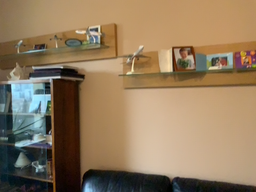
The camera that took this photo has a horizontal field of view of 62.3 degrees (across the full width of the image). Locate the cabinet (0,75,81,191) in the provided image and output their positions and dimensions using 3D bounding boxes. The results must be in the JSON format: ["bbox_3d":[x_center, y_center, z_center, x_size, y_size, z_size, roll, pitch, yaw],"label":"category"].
[{"bbox_3d":[-1.040,0.690,1.970,1.180,1.690,0.380,0,1,23],"label":"cabinet"}]
